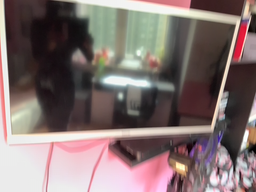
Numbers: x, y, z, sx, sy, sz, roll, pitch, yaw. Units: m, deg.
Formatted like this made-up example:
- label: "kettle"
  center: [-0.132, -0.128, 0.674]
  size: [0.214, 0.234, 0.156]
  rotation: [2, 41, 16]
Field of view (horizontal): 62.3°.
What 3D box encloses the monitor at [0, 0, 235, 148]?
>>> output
- label: "monitor"
  center: [-0.010, -0.090, 0.880]
  size: [0.860, 0.580, 0.090]
  rotation: [0, 24, -21]
